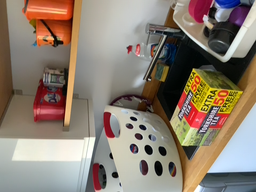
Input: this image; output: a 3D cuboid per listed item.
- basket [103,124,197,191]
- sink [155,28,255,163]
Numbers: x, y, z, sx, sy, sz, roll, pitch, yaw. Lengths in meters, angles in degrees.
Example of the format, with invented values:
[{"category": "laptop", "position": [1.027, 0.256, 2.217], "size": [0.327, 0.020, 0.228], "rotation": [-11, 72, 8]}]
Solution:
[{"category": "basket", "position": [0.080, 0.280, 0.980], "size": [0.300, 0.340, 0.110], "rotation": [-110, 30, -53]}, {"category": "sink", "position": [0.340, -0.020, 1.050], "size": [0.510, 0.140, 0.440], "rotation": [-108, 29, -51]}]
